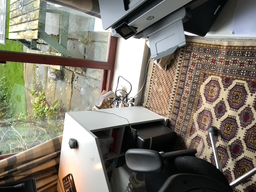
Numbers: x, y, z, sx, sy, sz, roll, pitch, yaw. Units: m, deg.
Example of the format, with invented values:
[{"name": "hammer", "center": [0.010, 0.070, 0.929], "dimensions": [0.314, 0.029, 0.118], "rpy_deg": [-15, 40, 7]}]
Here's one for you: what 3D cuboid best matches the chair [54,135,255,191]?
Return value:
[{"name": "chair", "center": [0.280, 0.560, 1.000], "dimensions": [0.610, 1.000, 0.580], "rpy_deg": [-8, 85, 47]}]
